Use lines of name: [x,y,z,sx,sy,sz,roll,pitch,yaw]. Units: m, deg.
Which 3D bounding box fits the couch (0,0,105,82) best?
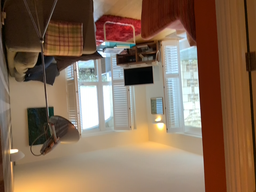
couch: [-1.310,-0.720,3.260,1.030,0.780,2.420,-4,180,-28]
